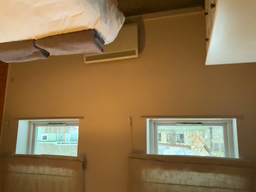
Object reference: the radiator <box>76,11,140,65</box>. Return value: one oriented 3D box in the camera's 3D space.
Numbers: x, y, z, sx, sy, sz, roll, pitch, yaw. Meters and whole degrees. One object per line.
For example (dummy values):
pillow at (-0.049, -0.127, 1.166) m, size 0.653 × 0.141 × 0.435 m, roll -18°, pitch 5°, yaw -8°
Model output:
radiator at (-0.240, -0.670, 2.500) m, size 0.750 × 0.520 × 0.140 m, roll -2°, pitch 170°, yaw 18°
